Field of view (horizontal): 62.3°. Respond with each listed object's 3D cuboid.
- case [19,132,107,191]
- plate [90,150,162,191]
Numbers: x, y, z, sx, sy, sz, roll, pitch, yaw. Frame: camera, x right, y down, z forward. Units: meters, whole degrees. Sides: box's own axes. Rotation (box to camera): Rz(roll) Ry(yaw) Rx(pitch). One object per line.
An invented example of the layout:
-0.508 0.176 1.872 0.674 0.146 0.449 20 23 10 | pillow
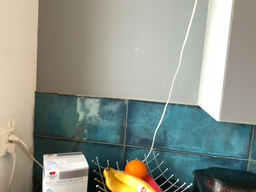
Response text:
-0.200 0.250 0.760 0.160 0.130 0.360 5 7 8 | case
0.010 0.310 0.760 0.210 0.110 0.280 5 7 8 | plate
